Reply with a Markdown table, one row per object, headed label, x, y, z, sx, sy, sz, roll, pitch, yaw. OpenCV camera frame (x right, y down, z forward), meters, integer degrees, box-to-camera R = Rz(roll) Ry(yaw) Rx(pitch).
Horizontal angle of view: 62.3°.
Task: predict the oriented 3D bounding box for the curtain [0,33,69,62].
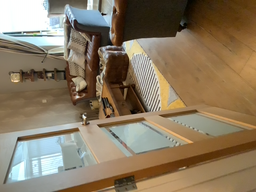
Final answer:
| label | x | y | z | sx | sy | sz | roll | pitch | yaw |
| --- | --- | --- | --- | --- | --- | --- | --- | --- | --- |
| curtain | -1.990 | -0.960 | 4.220 | 0.260 | 1.550 | 0.480 | -117 | 31 | -42 |

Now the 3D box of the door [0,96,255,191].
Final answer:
| label | x | y | z | sx | sy | sz | roll | pitch | yaw |
| --- | --- | --- | --- | --- | --- | --- | --- | --- | --- |
| door | -0.080 | 0.210 | 1.110 | 0.840 | 2.050 | 0.100 | -158 | 64 | -65 |

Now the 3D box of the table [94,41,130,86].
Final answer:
| label | x | y | z | sx | sy | sz | roll | pitch | yaw |
| --- | --- | --- | --- | --- | --- | --- | --- | --- | --- |
| table | -0.280 | -0.520 | 3.370 | 0.470 | 0.390 | 0.520 | -118 | 31 | -43 |

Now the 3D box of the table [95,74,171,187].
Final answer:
| label | x | y | z | sx | sy | sz | roll | pitch | yaw |
| --- | --- | --- | --- | --- | --- | --- | --- | --- | --- |
| table | -0.040 | 0.410 | 2.910 | 1.260 | 0.470 | 0.800 | -117 | 30 | -42 |
